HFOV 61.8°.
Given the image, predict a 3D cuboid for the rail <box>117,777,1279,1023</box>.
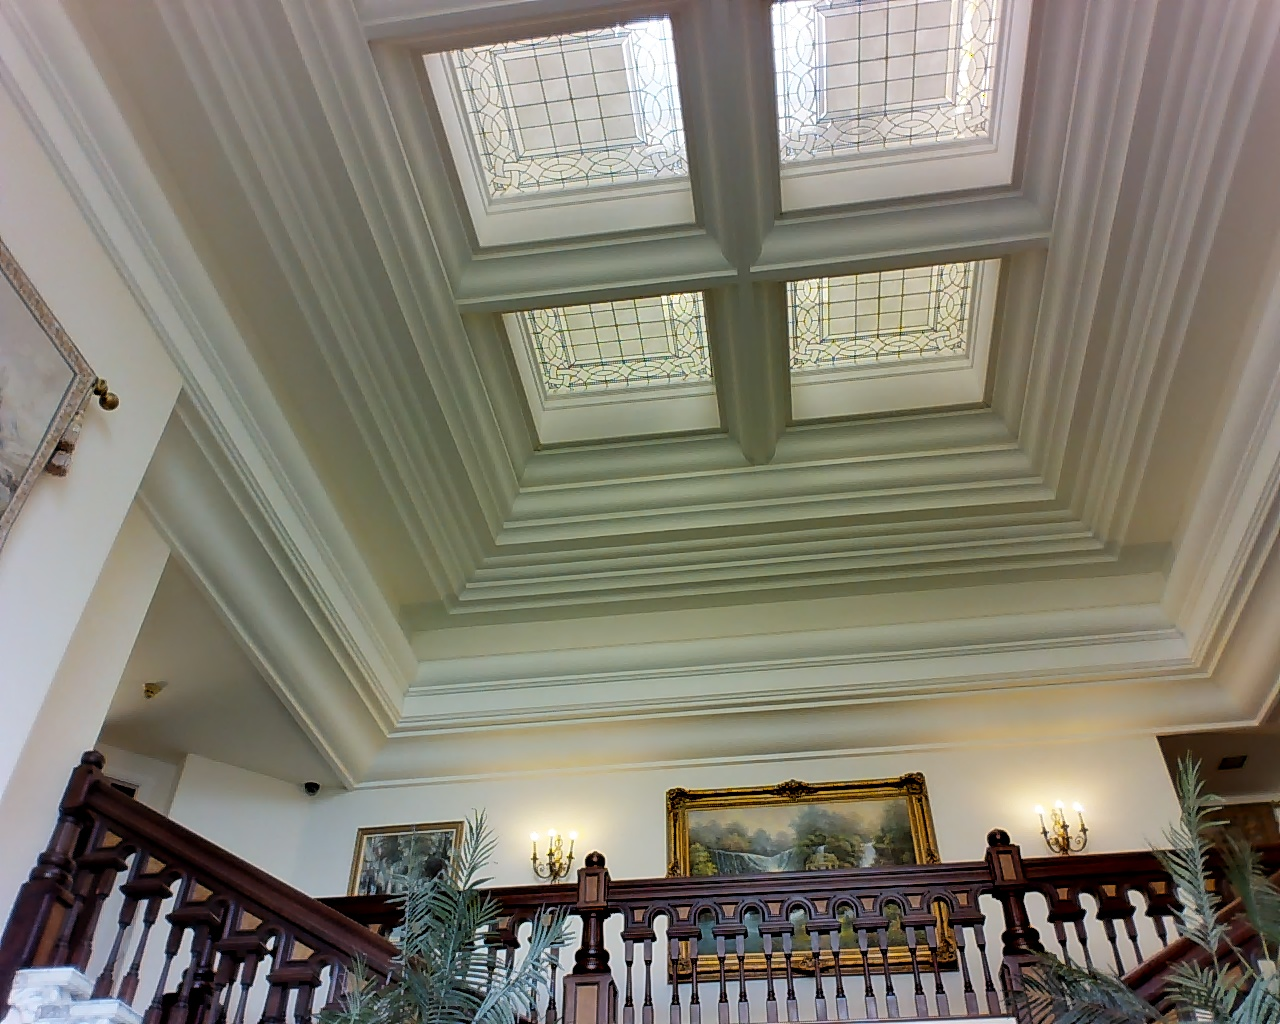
[{"bbox_3d":[0.940,2.580,6.590,8.200,1.420,0.580,-5,-42,6],"label":"rail"}]
